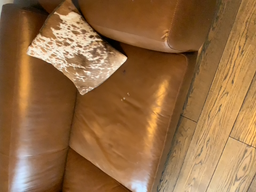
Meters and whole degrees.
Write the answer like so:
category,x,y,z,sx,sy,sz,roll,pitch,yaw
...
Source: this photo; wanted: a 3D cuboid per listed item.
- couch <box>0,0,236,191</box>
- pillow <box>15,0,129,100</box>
category,x,y,z,sx,sy,sz,roll,pitch,yaw
couch,-0.290,0.410,1.390,0.990,0.770,2.300,24,109,32
pillow,-0.260,-0.210,1.100,0.380,0.420,0.130,-17,42,20
